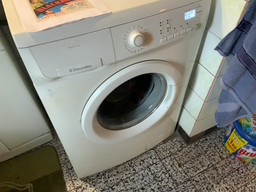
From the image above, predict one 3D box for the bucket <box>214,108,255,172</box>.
[{"bbox_3d":[0.620,0.230,1.120,0.130,0.220,0.220,-23,53,-20],"label":"bucket"}]
